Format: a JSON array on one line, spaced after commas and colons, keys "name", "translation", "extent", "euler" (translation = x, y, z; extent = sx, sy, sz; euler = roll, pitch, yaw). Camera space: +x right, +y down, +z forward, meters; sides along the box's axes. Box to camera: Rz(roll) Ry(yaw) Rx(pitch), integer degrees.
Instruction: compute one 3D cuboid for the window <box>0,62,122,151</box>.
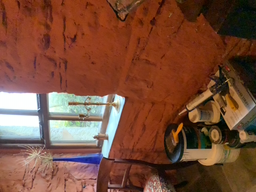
[{"name": "window", "translation": [-0.670, 0.150, 1.800], "extent": [0.110, 1.050, 0.940], "euler": [-105, 24, -43]}]
